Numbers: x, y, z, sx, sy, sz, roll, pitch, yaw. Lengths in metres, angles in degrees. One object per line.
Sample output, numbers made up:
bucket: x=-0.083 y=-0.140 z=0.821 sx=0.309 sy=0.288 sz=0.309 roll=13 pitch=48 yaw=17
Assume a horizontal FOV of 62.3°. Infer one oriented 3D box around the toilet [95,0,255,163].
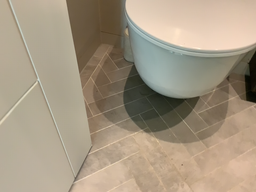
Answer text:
toilet: x=0.180 y=-0.150 z=0.720 sx=0.380 sy=0.430 sz=0.500 roll=14 pitch=49 yaw=10
